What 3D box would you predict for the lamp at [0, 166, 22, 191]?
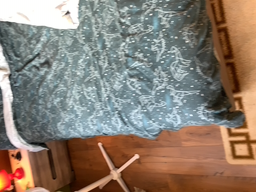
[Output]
[{"bbox_3d":[-1.140,0.750,1.910,0.180,0.260,0.150,-16,86,38],"label":"lamp"}]
